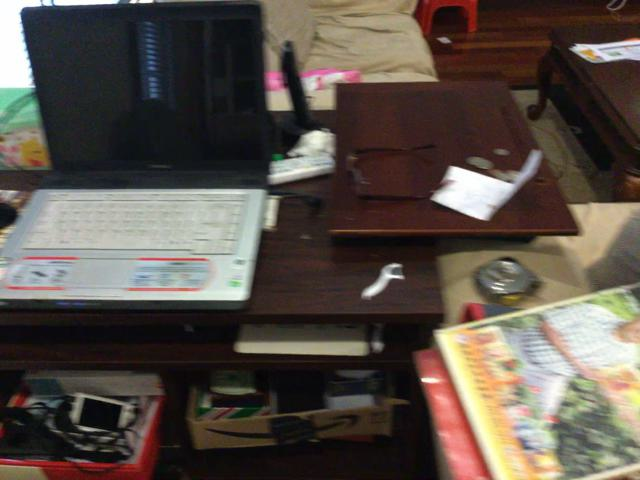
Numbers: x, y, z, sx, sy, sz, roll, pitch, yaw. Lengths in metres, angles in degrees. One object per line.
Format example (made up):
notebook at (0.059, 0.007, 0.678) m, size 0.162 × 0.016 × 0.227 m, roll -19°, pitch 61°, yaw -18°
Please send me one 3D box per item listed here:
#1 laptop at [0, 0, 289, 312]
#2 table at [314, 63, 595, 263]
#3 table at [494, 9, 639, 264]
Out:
laptop at (-0.290, -0.140, 0.790) m, size 0.410 × 0.290 × 0.360 m, roll 1°, pitch 40°, yaw 8°
table at (0.180, -0.160, 0.980) m, size 0.360 × 0.050 × 0.490 m, roll -5°, pitch 40°, yaw 1°
table at (1.410, -0.470, 2.090) m, size 1.220 × 0.370 × 1.090 m, roll -5°, pitch 40°, yaw 1°
